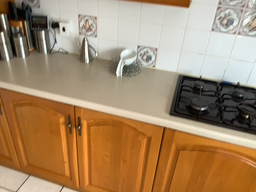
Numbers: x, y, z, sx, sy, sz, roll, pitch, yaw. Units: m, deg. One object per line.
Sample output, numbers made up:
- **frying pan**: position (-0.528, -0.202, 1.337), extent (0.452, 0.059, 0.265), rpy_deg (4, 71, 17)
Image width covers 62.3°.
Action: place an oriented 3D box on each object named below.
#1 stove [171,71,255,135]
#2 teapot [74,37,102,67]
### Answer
- **stove**: position (0.560, 0.020, 1.200), extent (0.570, 0.030, 0.510), rpy_deg (13, 32, 12)
- **teapot**: position (-0.290, -0.330, 1.570), extent (0.170, 0.170, 0.100), rpy_deg (12, 32, 12)
